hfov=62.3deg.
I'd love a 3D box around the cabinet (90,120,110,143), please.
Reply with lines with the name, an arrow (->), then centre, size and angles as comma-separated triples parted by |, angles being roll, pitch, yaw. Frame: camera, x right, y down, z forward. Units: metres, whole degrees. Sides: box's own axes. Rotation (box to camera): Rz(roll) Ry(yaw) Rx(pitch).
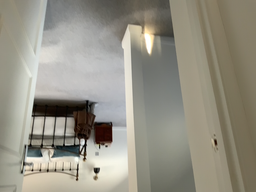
cabinet -> -0.710, 0.910, 5.380 | 0.470, 0.510, 0.370 | 2, 159, -13

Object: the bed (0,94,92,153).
bed -> -1.710, 0.700, 4.390 | 1.630, 0.720, 2.010 | 4, 159, -17
